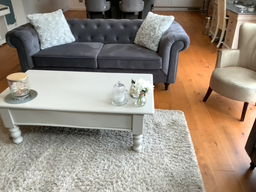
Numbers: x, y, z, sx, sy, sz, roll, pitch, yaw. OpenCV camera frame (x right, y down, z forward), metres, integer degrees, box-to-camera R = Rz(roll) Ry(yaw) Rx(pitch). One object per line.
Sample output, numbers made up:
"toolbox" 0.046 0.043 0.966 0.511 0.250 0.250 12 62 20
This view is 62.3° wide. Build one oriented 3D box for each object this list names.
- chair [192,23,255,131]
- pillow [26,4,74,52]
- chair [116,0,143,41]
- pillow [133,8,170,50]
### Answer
"chair" 1.260 -0.250 2.340 0.730 0.900 0.570 -17 35 -28
"pillow" -1.040 -0.890 2.860 0.180 0.480 0.540 14 9 39
"chair" 0.050 -1.850 4.760 0.550 1.030 0.590 3 30 3
"pillow" 0.290 -0.850 2.790 0.240 0.380 0.530 10 2 -16
